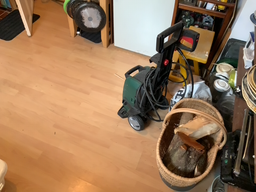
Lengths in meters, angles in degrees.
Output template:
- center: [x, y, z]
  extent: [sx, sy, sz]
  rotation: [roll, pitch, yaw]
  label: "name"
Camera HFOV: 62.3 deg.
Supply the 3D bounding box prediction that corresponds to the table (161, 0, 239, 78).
- center: [0.680, -0.690, 2.020]
  extent: [0.440, 0.670, 0.670]
  rotation: [20, 52, 11]
  label: "table"
